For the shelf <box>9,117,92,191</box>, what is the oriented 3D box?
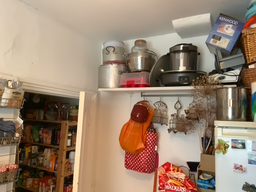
[{"bbox_3d":[-0.920,1.100,2.450,0.820,1.660,0.420,0,-5,27],"label":"shelf"}]
